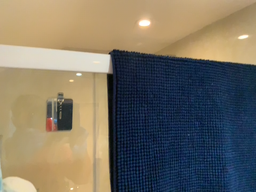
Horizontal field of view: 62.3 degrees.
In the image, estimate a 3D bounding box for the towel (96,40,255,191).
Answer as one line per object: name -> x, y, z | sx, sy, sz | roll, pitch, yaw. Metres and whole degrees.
towel -> 0.210, 0.130, 0.680 | 0.590, 0.500, 0.180 | 1, -3, -25
